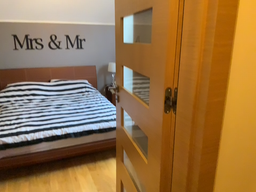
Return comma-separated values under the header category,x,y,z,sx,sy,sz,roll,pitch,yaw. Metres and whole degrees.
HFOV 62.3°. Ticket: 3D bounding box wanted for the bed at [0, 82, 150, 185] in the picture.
category,x,y,z,sx,sy,sz,roll,pitch,yaw
bed,-0.980,0.310,3.390,1.820,0.480,2.220,-6,18,-21
